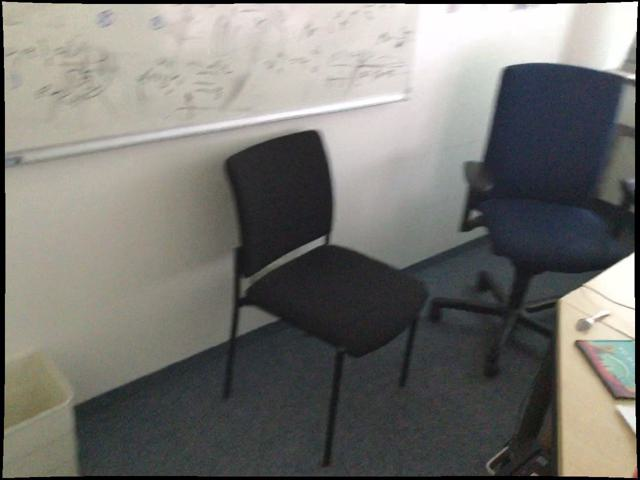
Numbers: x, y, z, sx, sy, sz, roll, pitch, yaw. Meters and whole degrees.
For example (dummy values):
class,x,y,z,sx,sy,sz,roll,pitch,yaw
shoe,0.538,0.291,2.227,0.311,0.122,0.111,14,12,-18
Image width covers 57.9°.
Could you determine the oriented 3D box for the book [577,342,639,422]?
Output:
class,x,y,z,sx,sy,sz,roll,pitch,yaw
book,0.609,0.270,1.120,0.140,0.020,0.190,1,32,-3
